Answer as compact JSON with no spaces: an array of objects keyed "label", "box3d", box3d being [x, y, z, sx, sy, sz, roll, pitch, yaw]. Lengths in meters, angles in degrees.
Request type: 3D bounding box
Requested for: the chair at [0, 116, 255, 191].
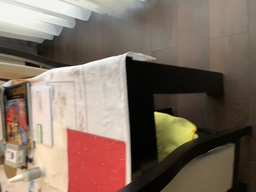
[{"label":"chair","box3d":[0.110,0.320,0.770,0.410,1.050,0.360,3,93,41]}]
